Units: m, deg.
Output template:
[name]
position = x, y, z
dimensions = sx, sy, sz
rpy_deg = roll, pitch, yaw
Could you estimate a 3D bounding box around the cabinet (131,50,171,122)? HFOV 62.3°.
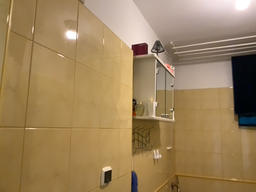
[cabinet]
position = 0.210, -0.030, 1.660
dimensions = 0.140, 0.440, 0.650
rpy_deg = -1, -9, 22
